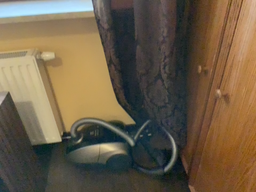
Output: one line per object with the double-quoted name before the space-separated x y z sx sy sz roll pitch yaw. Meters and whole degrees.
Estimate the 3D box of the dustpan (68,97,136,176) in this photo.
"dustpan" -0.150 0.250 1.350 0.360 0.330 0.330 -4 36 -4
